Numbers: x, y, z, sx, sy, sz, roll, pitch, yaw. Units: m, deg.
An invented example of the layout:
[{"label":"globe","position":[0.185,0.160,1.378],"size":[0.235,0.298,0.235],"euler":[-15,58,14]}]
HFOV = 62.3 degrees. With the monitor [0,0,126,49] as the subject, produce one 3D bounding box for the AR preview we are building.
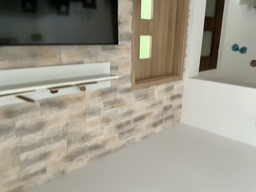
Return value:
[{"label":"monitor","position":[-0.470,-0.660,1.410],"size":[1.150,0.650,0.060],"euler":[-10,-161,-41]}]
